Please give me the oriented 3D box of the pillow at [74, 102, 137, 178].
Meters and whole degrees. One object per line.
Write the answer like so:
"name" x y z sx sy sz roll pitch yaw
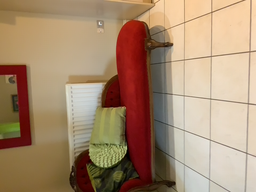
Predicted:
"pillow" -0.230 0.440 2.210 0.230 0.400 0.630 9 122 66

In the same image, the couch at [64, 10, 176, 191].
"couch" -0.120 0.150 2.140 0.740 0.840 1.670 -177 84 -67
